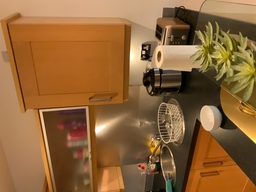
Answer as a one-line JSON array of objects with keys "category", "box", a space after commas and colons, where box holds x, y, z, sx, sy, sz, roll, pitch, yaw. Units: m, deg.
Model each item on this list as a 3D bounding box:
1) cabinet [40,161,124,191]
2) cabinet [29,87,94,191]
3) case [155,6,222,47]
[{"category": "cabinet", "box": [-0.470, 0.950, 2.250, 0.320, 0.810, 0.250, -114, 23, -61]}, {"category": "cabinet", "box": [-0.560, 0.430, 1.950, 0.340, 0.430, 0.940, -114, 23, -61]}, {"category": "case", "box": [0.450, -0.540, 1.640, 0.240, 0.400, 0.260, -113, 22, -60]}]
